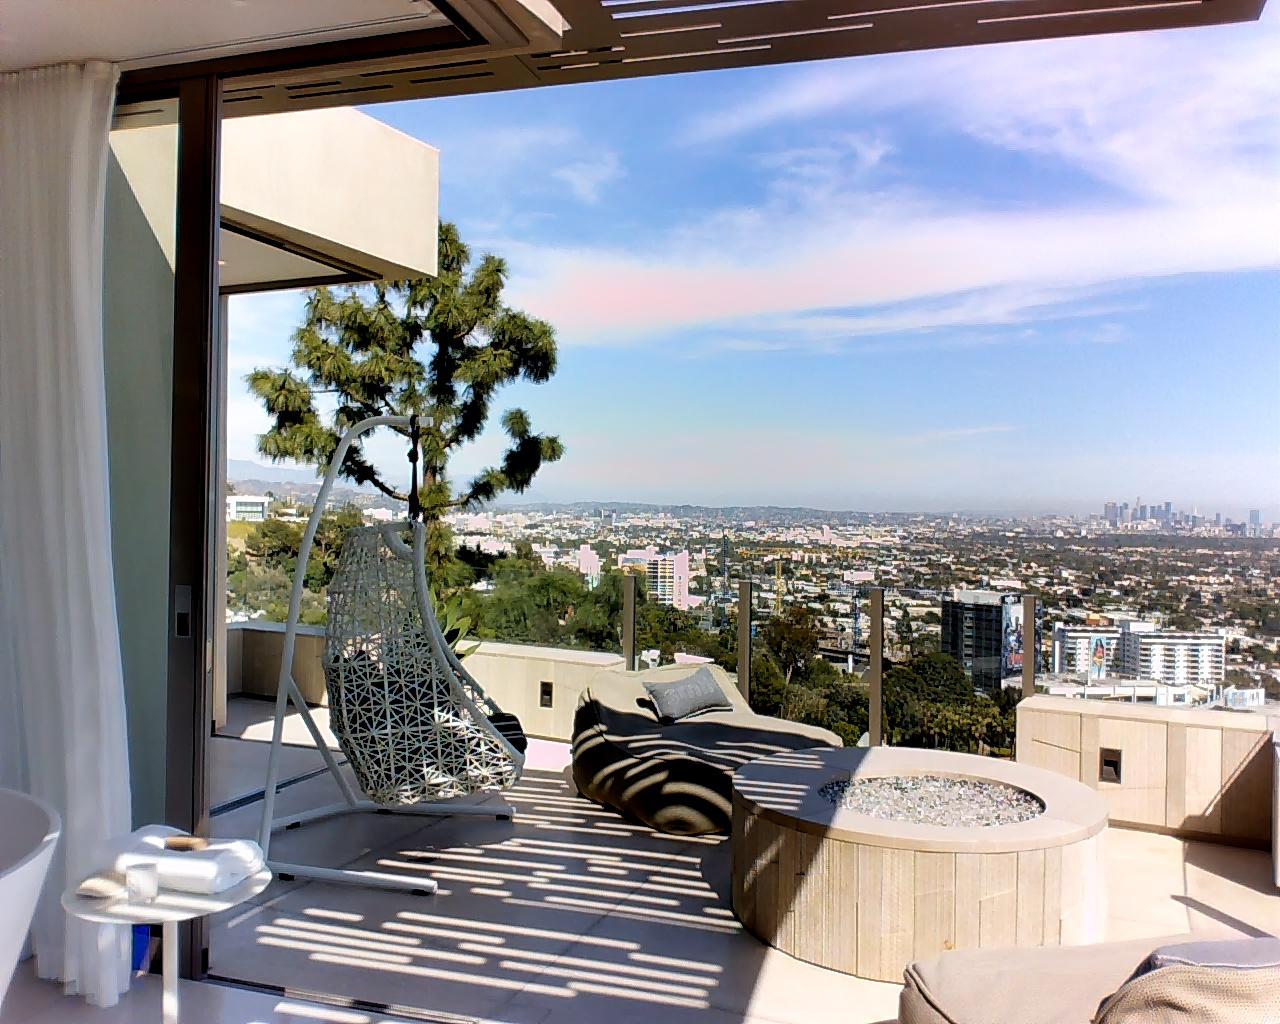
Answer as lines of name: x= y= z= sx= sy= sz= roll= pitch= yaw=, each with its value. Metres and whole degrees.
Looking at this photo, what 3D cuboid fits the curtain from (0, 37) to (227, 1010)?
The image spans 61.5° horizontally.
curtain: x=-1.930 y=0.030 z=3.490 sx=1.010 sy=2.880 sz=0.410 roll=1 pitch=0 yaw=12
